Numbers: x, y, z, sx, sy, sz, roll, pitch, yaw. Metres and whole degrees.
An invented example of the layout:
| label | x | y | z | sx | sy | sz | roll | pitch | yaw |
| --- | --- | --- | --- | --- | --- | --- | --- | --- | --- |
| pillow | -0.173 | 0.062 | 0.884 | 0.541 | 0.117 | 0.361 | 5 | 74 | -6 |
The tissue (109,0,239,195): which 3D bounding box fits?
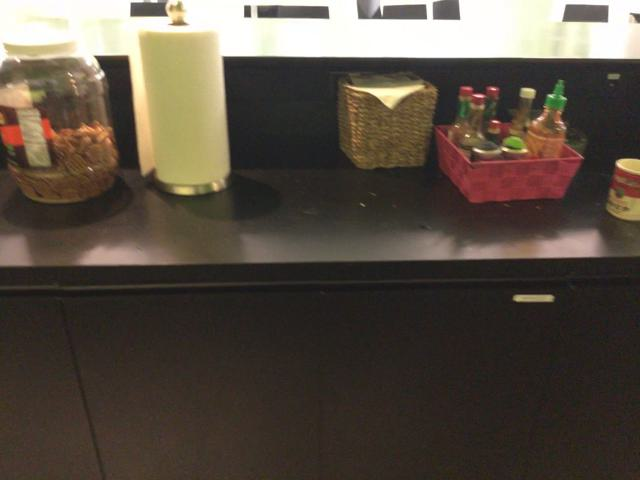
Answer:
| label | x | y | z | sx | sy | sz | roll | pitch | yaw |
| --- | --- | --- | --- | --- | --- | --- | --- | --- | --- |
| tissue | -0.260 | -0.270 | 1.090 | 0.200 | 0.340 | 0.130 | 1 | 27 | -5 |
